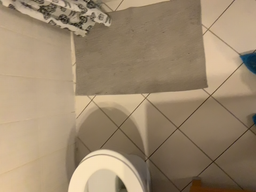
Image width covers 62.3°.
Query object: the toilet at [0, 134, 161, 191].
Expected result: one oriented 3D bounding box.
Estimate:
[{"bbox_3d":[-0.100,0.570,0.920,0.380,0.790,0.660,-2,90,17],"label":"toilet"}]
